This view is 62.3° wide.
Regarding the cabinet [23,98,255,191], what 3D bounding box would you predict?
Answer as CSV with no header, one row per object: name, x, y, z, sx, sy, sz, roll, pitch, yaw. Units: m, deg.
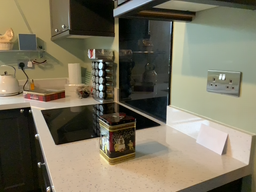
cabinet,-0.150,0.590,1.180,0.680,0.860,1.340,-5,13,-26

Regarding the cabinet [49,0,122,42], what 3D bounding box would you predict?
cabinet,-0.390,-0.970,1.700,0.370,0.990,0.820,-5,13,-26
